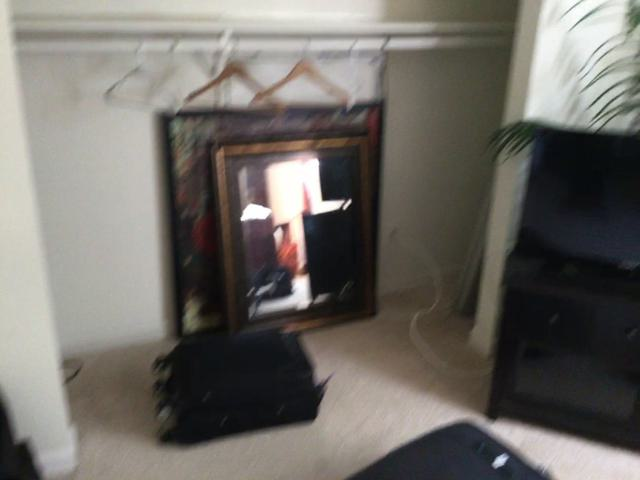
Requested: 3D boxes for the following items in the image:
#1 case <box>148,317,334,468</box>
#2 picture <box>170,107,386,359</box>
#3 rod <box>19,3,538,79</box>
[{"bbox_3d":[-0.310,0.560,2.240,0.610,0.290,0.380,-10,17,-20],"label":"case"},{"bbox_3d":[-0.180,-0.050,2.700,0.960,1.080,0.180,-3,12,-22],"label":"picture"},{"bbox_3d":[-0.060,-0.830,2.380,2.070,0.180,0.380,-10,17,-20],"label":"rod"}]
